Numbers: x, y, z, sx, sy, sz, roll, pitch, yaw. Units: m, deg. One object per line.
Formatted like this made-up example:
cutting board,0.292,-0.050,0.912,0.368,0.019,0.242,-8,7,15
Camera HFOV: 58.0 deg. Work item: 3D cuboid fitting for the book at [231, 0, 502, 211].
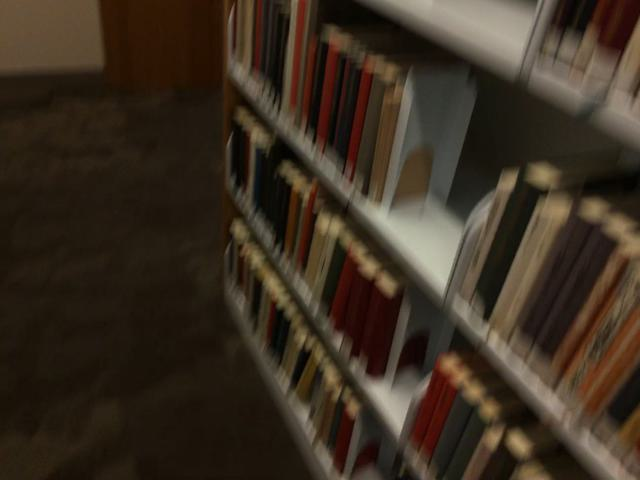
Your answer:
book,0.020,-0.360,1.110,0.170,0.270,0.700,-10,37,-23
